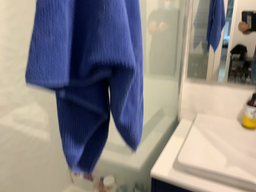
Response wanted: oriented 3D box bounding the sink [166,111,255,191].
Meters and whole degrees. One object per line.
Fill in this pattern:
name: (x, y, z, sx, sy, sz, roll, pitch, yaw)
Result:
sink: (0.660, 0.320, 0.910, 0.870, 0.200, 0.480, 9, 22, 24)
